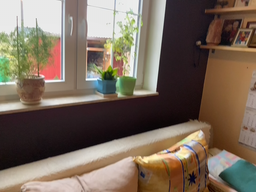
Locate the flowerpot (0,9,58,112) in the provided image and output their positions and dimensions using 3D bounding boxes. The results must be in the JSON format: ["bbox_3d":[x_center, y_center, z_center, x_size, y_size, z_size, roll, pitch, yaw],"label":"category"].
[{"bbox_3d":[-0.650,-0.220,1.340,0.330,0.560,0.230,-6,17,-39],"label":"flowerpot"}]

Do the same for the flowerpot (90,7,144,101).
[{"bbox_3d":[-0.110,-0.360,1.860,0.290,0.720,0.310,-7,18,-42],"label":"flowerpot"}]
